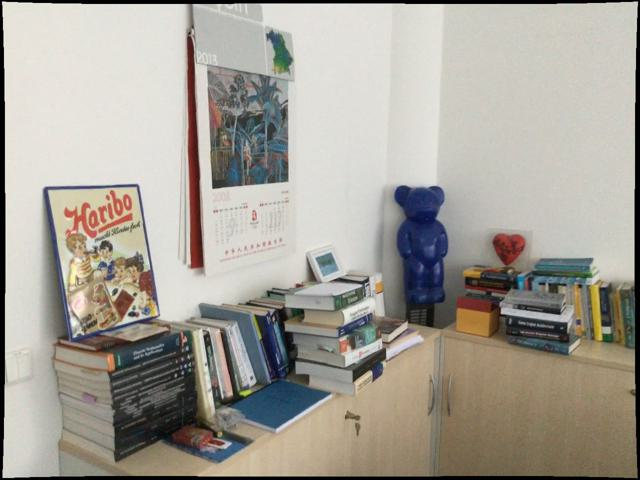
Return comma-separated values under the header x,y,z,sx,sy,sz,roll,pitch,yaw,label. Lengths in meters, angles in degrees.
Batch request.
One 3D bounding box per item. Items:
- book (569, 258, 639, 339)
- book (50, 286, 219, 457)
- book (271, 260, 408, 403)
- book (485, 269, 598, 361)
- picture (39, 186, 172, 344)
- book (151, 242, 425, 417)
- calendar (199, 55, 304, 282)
x,y,z,sx,sy,sz,roll,pitch,yaw,label
1.419,0.260,2.240,0.789,0.250,0.220,7,12,33,book
-0.490,0.330,1.570,0.240,0.310,0.350,7,12,33,book
0.070,0.290,1.990,0.330,0.350,0.350,7,12,33,book
0.909,0.290,2.370,0.360,0.250,0.290,7,12,33,book
-0.559,0.050,1.540,0.150,0.360,0.280,7,12,33,picture
-0.010,0.250,2.210,0.280,0.260,1.350,7,12,33,book
-0.220,-0.250,2.030,0.050,0.711,0.490,7,12,33,calendar
